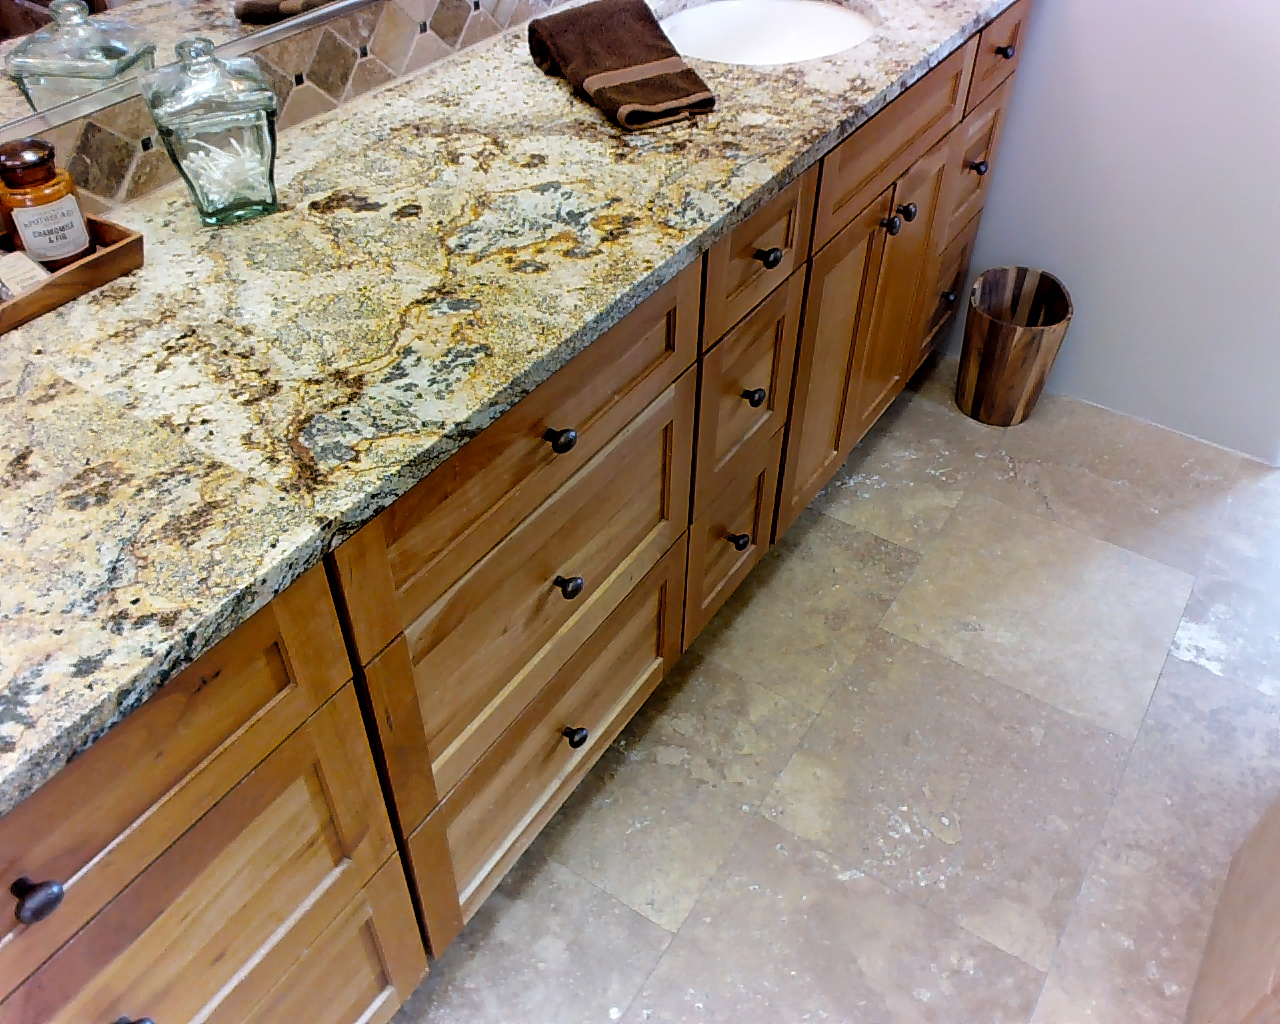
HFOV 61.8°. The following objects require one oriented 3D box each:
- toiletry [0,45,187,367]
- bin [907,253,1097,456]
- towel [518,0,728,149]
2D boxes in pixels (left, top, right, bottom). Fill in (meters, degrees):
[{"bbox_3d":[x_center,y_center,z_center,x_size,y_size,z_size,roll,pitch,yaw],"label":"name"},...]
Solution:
[{"bbox_3d":[-0.610,-0.280,1.000,0.150,0.200,0.270,23,46,23],"label":"toiletry"},{"bbox_3d":[0.790,-0.350,2.350,0.270,0.280,0.270,23,46,23],"label":"bin"},{"bbox_3d":[-0.030,-0.600,1.450,0.170,0.080,0.290,-18,45,-20],"label":"towel"}]
